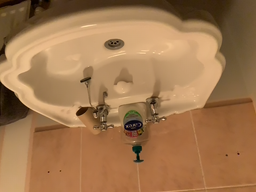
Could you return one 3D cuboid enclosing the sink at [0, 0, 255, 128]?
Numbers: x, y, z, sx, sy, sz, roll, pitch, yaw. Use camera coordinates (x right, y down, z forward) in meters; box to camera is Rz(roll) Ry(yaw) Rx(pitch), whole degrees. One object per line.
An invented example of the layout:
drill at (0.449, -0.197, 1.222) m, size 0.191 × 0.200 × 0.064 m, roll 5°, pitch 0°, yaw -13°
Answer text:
sink at (-0.040, -0.100, 0.580) m, size 0.600 × 0.200 × 0.490 m, roll -9°, pitch 158°, yaw 11°
